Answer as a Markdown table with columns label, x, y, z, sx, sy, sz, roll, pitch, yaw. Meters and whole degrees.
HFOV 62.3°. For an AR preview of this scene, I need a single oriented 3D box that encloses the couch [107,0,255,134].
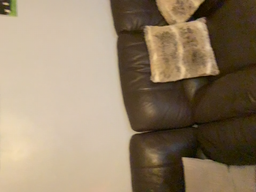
| label | x | y | z | sx | sy | sz | roll | pitch | yaw |
| --- | --- | --- | --- | --- | --- | --- | --- | --- | --- |
| couch | 0.490 | -0.560 | 1.420 | 0.900 | 0.970 | 1.450 | 149 | 115 | -63 |

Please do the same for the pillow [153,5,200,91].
| label | x | y | z | sx | sy | sz | roll | pitch | yaw |
| --- | --- | --- | --- | --- | --- | --- | --- | --- | --- |
| pillow | 0.320 | -0.290 | 1.370 | 0.070 | 0.400 | 0.430 | -17 | 68 | 36 |
